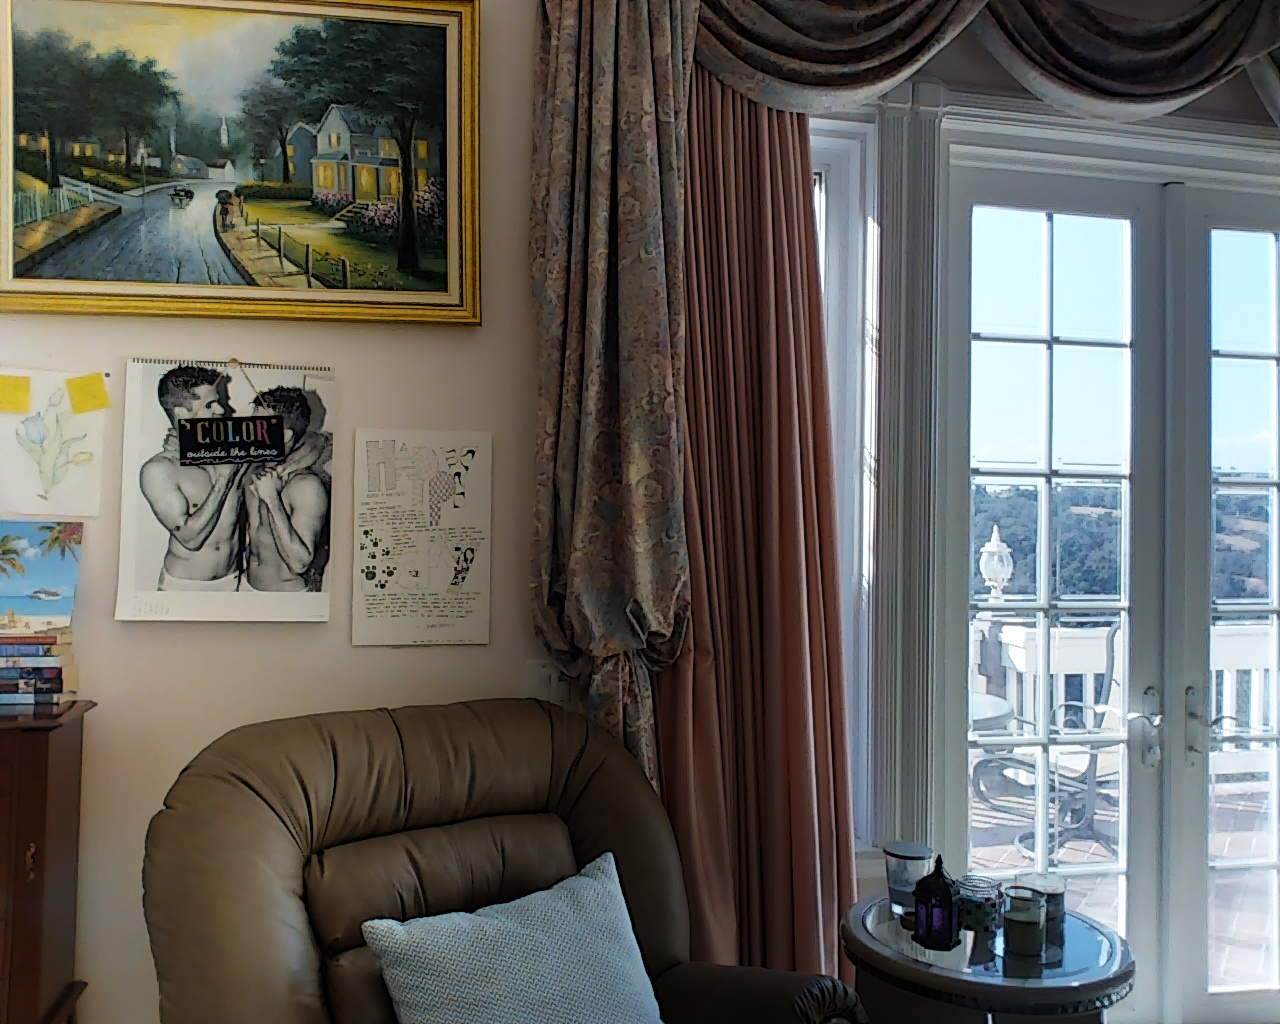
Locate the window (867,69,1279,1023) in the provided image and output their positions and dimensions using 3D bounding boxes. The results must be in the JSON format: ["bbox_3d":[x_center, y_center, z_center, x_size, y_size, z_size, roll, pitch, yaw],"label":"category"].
[{"bbox_3d":[1.870,0.220,2.890,2.520,2.510,0.280,0,0,-10],"label":"window"}]

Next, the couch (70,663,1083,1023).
[{"bbox_3d":[-0.200,0.880,1.730,1.100,1.020,1.300,0,1,-36],"label":"couch"}]
